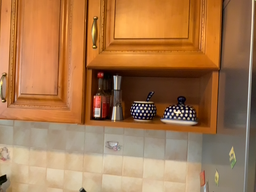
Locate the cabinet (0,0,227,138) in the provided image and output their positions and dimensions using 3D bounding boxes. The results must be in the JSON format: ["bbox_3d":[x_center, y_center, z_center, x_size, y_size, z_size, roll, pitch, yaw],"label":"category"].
[{"bbox_3d":[-0.240,-0.370,0.910,1.170,0.940,0.320,3,1,10],"label":"cabinet"}]
